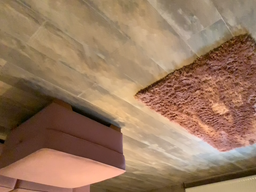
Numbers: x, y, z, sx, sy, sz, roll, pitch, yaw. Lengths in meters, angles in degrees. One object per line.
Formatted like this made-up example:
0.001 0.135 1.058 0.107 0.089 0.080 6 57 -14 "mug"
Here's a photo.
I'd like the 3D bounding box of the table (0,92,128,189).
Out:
-0.580 0.480 1.920 0.810 0.450 0.810 -28 138 33 "table"
